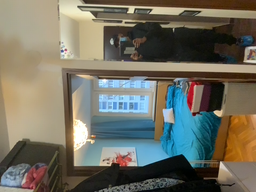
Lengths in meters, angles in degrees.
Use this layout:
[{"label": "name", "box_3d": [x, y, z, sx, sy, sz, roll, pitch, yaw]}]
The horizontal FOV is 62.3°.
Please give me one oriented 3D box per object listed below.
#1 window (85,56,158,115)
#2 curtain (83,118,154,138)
[{"label": "window", "box_3d": [-0.190, -0.250, 5.650, 0.180, 1.850, 1.520, -98, 9, -73]}, {"label": "curtain", "box_3d": [-0.250, 0.860, 5.690, 0.180, 1.840, 0.480, -101, 12, -76]}]
